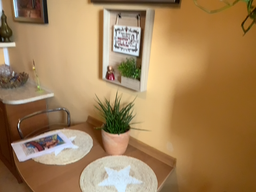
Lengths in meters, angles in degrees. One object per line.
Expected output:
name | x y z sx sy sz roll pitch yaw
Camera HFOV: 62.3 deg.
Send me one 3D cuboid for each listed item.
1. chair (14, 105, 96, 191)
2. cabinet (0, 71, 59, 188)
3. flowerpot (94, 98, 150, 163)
chair | -0.480 0.550 1.480 0.380 0.850 0.340 19 26 38
cabinet | -1.140 0.270 2.160 0.930 0.850 0.340 19 25 37
flowerpot | -0.040 0.180 1.200 0.250 0.240 0.180 20 26 39
